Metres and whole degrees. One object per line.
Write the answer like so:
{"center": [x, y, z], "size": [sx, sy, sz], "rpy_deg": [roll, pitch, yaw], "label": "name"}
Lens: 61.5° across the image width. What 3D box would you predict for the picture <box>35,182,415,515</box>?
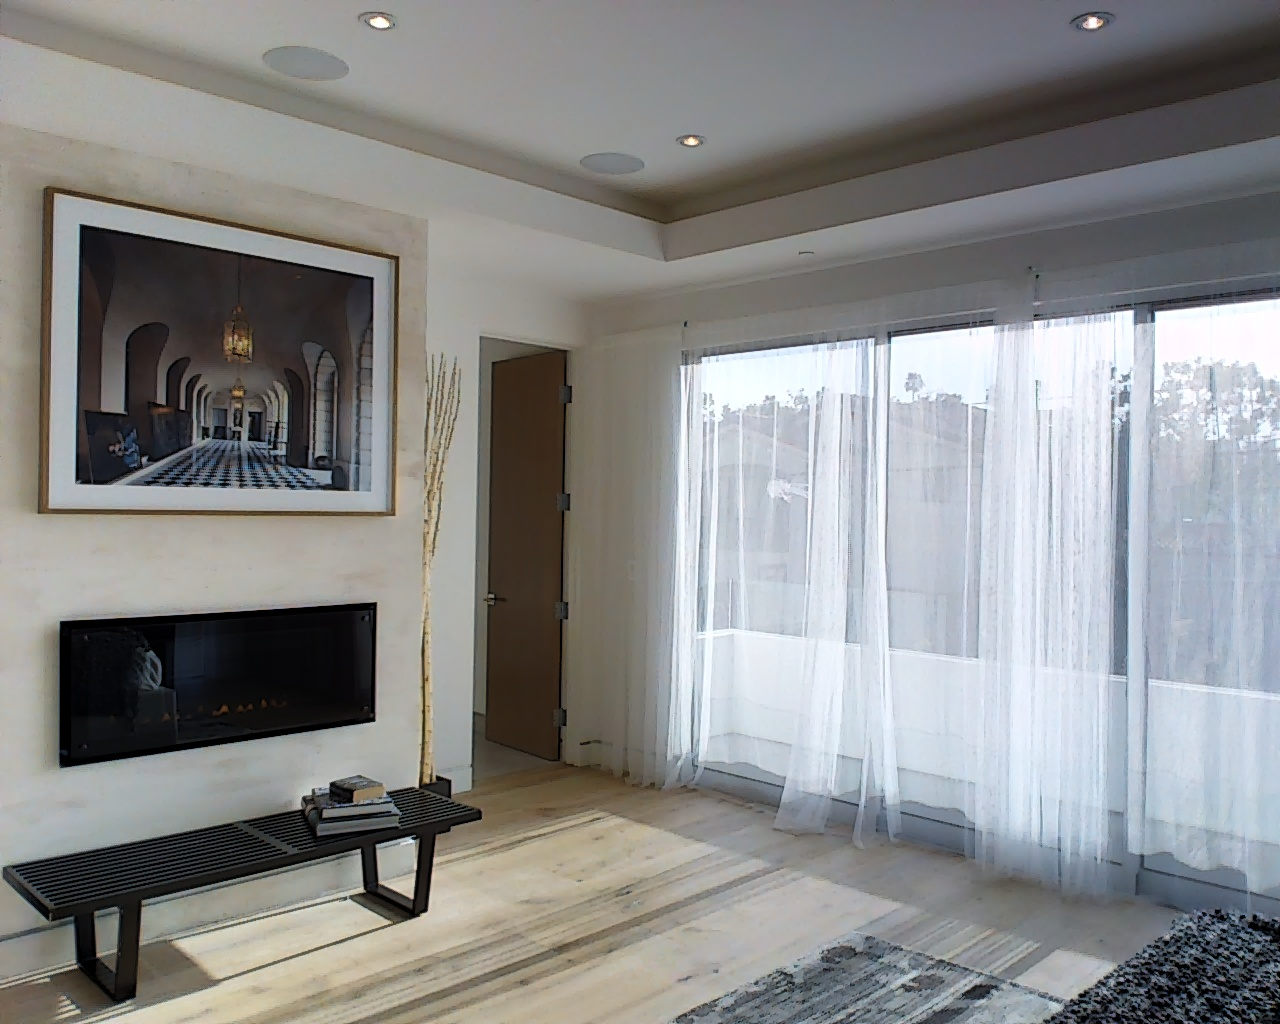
{"center": [-1.439, -0.520, 3.940], "size": [1.380, 1.060, 0.060], "rpy_deg": [0, 1, -45], "label": "picture"}
